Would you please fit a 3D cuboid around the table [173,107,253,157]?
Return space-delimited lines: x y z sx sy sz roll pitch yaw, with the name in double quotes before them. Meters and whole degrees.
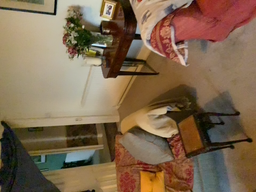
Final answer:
"table" 0.660 0.280 1.680 0.240 0.470 0.290 123 140 -53

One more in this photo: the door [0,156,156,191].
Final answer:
"door" -0.760 1.230 2.970 0.940 2.090 0.100 -154 66 -65

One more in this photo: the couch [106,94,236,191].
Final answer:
"couch" 0.370 1.080 2.040 1.060 0.740 1.980 146 120 -63
